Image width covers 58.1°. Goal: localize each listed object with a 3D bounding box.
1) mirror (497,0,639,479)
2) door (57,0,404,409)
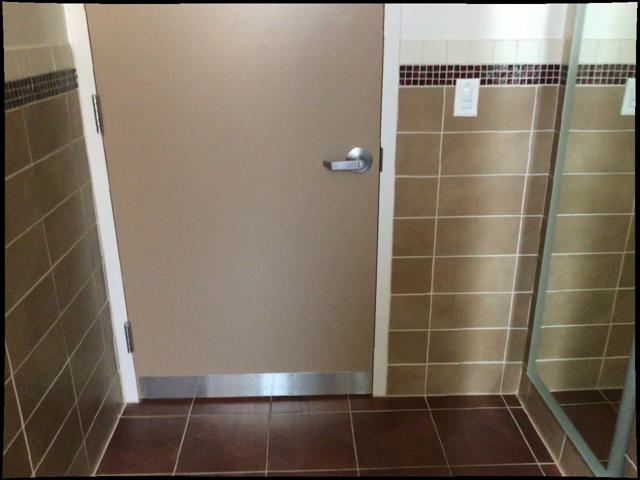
[{"bbox_3d":[0.798,-0.040,1.650,0.120,1.724,0.810,0,19,-2],"label":"mirror"},{"bbox_3d":[-0.279,-0.090,2.030,1.057,1.544,0.080,0,19,-2],"label":"door"}]
